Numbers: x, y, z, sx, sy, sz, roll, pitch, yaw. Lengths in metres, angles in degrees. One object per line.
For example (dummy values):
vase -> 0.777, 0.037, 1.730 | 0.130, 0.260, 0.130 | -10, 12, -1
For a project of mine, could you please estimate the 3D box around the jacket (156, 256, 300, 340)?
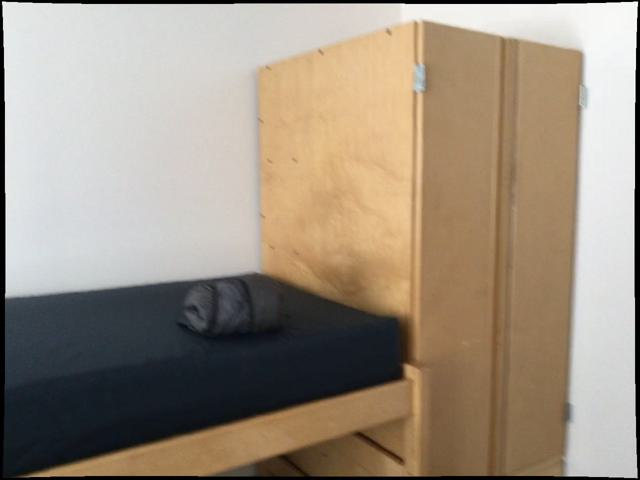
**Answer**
jacket -> -0.250, 0.140, 1.540 | 0.270, 0.130, 0.310 | -6, 10, -33
